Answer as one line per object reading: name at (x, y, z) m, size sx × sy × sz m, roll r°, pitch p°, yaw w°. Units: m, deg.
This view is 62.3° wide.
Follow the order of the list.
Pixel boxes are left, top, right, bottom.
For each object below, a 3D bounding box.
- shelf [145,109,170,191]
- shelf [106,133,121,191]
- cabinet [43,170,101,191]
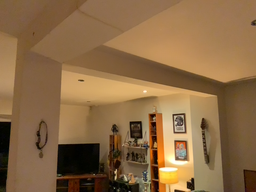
shelf at (0.530, 1.270, 3.800) m, size 0.260 × 2.030 × 0.310 m, roll 8°, pitch -12°, yaw -42°
shelf at (-0.320, 1.640, 4.700) m, size 0.190 × 1.590 × 0.270 m, roll 8°, pitch -12°, yaw -42°
cabinet at (-1.210, 2.080, 4.690) m, size 1.190 × 0.710 × 0.530 m, roll 1°, pitch -9°, yaw -10°
